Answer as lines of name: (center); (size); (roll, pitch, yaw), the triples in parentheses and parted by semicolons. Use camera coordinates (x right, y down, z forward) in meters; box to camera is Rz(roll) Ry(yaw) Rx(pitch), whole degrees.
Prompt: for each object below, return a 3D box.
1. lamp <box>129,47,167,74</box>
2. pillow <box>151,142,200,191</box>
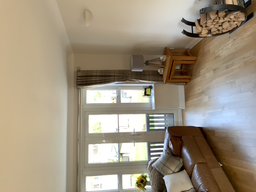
lamp: (0.360, -0.670, 4.030); (0.400, 0.620, 0.370); (-103, 15, -55)
pillow: (0.680, 1.220, 3.130); (1.100, 0.410, 0.350); (-103, 15, -55)
